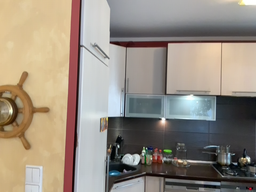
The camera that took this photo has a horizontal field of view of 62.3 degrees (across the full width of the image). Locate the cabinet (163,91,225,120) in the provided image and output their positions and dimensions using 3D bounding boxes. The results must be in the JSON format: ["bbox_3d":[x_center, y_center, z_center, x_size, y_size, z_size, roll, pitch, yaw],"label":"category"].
[{"bbox_3d":[0.820,0.120,2.730,0.710,0.330,0.320,2,-1,8],"label":"cabinet"}]
